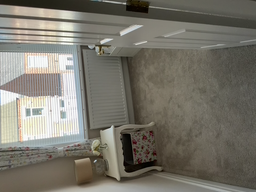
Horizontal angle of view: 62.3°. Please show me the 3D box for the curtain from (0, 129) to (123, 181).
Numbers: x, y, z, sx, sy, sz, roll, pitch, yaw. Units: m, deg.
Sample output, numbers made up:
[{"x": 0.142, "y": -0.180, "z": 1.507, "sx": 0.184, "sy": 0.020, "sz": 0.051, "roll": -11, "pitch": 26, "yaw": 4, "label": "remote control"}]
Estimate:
[{"x": -1.150, "y": 0.750, "z": 2.620, "sx": 0.140, "sy": 2.230, "sz": 0.410, "roll": 140, "pitch": 123, "yaw": -62, "label": "curtain"}]

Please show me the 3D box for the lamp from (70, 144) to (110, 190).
[{"x": -0.500, "y": 0.890, "z": 2.690, "sx": 0.360, "sy": 0.410, "sz": 0.320, "roll": -119, "pitch": 34, "yaw": -46, "label": "lamp"}]
